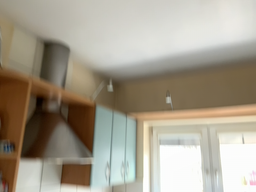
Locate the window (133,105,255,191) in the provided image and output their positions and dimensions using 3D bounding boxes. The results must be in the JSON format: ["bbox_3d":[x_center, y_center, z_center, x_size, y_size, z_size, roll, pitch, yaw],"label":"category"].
[{"bbox_3d":[0.840,0.900,2.290,1.600,1.510,0.240,-6,-17,24],"label":"window"}]
